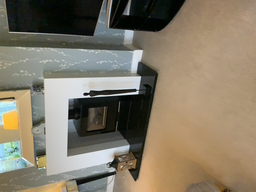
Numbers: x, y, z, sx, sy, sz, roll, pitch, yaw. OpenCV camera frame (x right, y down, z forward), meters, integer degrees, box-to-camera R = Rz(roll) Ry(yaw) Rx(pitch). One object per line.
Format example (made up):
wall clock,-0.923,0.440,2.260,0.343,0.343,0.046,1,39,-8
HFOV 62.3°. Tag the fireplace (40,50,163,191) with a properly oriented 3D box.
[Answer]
fireplace,-0.390,0.280,2.410,0.800,1.030,1.390,44,132,53
